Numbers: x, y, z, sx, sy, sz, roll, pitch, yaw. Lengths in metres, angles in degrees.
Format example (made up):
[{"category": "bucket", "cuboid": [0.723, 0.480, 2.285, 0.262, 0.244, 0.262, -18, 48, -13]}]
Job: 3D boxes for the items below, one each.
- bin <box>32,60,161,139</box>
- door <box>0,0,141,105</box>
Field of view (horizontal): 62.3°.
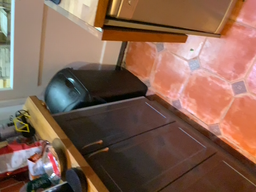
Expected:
[{"category": "bin", "cuboid": [-0.230, -0.040, 1.630, 0.530, 0.780, 0.280, 39, 123, 36]}, {"category": "door", "cuboid": [-0.730, -0.250, 1.300, 0.040, 2.030, 0.680, 39, 123, 36]}]
